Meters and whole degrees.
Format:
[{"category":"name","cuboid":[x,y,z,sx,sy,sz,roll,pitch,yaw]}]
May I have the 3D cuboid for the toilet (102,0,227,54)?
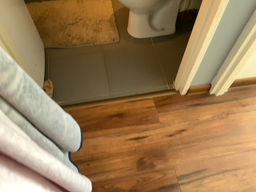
[{"category":"toilet","cuboid":[0.180,-0.690,1.130,0.640,0.790,0.420,-8,59,-7]}]
